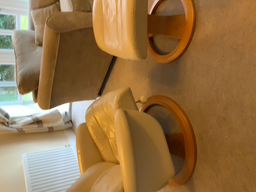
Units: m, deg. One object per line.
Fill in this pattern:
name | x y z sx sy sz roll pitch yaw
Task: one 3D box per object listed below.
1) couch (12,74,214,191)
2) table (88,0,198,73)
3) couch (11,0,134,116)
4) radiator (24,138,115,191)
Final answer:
couch | -0.130 0.350 1.300 0.710 0.950 0.810 -18 78 58
table | 0.060 -0.440 1.330 0.510 0.430 0.480 32 120 54
couch | -0.700 -0.600 2.200 1.020 0.830 1.170 -58 46 45
radiator | -0.690 0.970 2.480 1.340 0.820 0.070 41 127 50
